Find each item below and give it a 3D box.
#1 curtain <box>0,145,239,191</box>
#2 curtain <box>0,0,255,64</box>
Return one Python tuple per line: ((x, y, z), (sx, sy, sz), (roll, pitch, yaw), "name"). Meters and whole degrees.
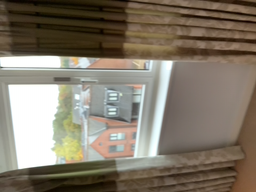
((0.000, 0.770, 1.880), (0.110, 2.120, 0.550), (-123, 36, -62), "curtain")
((0.090, -0.490, 1.370), (0.170, 2.310, 0.470), (-119, 32, -59), "curtain")
